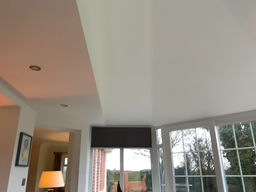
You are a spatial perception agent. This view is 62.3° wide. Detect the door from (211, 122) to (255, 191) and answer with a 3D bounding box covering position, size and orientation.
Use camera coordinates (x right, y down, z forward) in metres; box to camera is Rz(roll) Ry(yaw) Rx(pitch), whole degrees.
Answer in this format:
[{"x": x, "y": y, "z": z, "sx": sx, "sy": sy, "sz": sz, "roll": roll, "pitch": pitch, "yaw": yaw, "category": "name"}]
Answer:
[{"x": 1.660, "y": 1.360, "z": 2.790, "sx": 0.830, "sy": 2.000, "sz": 0.040, "roll": -16, "pitch": -25, "yaw": 37, "category": "door"}]
